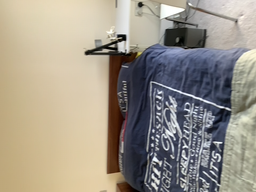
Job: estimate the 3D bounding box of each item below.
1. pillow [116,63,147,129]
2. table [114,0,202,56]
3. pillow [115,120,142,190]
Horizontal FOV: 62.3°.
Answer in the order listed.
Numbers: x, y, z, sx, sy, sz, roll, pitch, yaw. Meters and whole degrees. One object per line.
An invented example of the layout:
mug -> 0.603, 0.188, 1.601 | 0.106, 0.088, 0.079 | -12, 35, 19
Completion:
pillow -> 0.020, -0.020, 2.140 | 0.380, 0.170, 0.580 | -145, 56, -66
table -> 0.290, -0.850, 2.140 | 0.390, 0.760, 0.840 | -149, 59, -67
pillow -> -0.010, 0.610, 2.280 | 0.380, 0.150, 0.600 | -149, 59, -67
